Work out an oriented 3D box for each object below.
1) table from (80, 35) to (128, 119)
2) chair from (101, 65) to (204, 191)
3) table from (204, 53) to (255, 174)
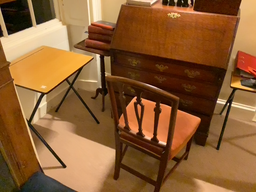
[{"bbox_3d":[-0.230,-0.200,2.270,0.320,0.750,0.380,16,37,20],"label":"table"},{"bbox_3d":[0.170,0.280,1.560,0.450,0.770,0.550,21,39,25],"label":"chair"},{"bbox_3d":[1.080,0.160,1.780,0.610,0.770,0.560,16,37,20],"label":"table"}]
